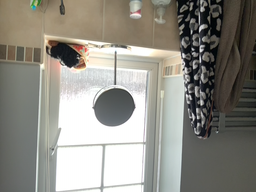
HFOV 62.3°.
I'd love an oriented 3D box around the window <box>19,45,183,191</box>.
[{"bbox_3d":[-0.120,0.300,0.960,0.630,0.940,0.230,3,-178,-17],"label":"window"}]
